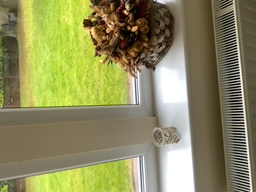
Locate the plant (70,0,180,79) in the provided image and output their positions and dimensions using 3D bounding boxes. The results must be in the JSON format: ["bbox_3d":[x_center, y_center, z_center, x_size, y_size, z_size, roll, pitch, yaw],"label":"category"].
[{"bbox_3d":[-0.030,-0.280,0.970,0.330,0.370,0.340,-11,81,57],"label":"plant"}]
